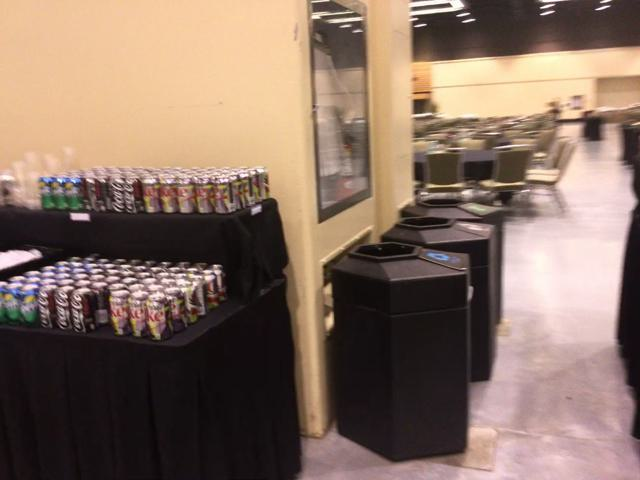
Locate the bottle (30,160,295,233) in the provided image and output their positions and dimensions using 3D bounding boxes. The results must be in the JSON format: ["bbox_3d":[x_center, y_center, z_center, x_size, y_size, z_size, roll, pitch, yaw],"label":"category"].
[{"bbox_3d":[-0.550,-0.180,2.100,0.800,0.160,0.470,5,13,19],"label":"bottle"}]

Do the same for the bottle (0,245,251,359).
[{"bbox_3d":[-0.630,0.170,1.870,0.660,0.170,0.470,4,12,20],"label":"bottle"}]

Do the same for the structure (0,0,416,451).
[{"bbox_3d":[-0.610,-0.410,2.870,1.890,2.300,1.100,0,11,20],"label":"structure"}]

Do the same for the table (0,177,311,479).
[{"bbox_3d":[-1.050,0.320,2.200,1.800,1.030,0.860,2,11,20],"label":"table"}]
